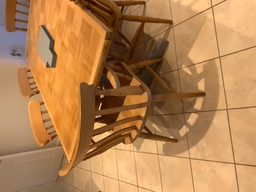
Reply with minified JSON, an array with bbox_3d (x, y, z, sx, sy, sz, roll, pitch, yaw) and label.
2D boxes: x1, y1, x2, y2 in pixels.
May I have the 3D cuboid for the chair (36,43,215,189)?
[{"bbox_3d":[-0.030,0.070,1.340,0.550,0.860,0.500,53,132,36],"label":"chair"}]

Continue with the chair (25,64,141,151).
[{"bbox_3d":[-0.400,0.070,1.880,0.440,0.800,0.500,52,130,35],"label":"chair"}]

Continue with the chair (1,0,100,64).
[{"bbox_3d":[-0.870,-0.740,2.380,0.550,0.860,0.460,57,132,34],"label":"chair"}]
